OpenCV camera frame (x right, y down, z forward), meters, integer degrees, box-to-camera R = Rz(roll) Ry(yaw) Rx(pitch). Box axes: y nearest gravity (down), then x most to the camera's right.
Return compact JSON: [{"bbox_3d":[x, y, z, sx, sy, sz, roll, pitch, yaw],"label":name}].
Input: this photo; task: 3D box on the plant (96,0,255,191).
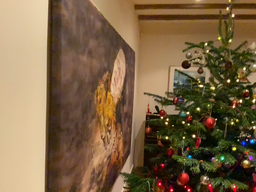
[{"bbox_3d":[0.860,0.360,1.770,1.810,2.150,1.630,3,3,9],"label":"plant"}]
